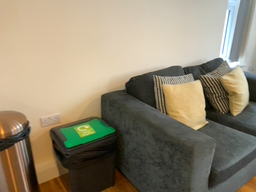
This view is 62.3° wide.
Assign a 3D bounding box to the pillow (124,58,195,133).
[{"bbox_3d":[0.310,-0.020,1.890,0.610,0.400,0.180,-31,34,-23],"label":"pillow"}]

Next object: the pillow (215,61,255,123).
[{"bbox_3d":[1.080,-0.050,2.040,0.510,0.360,0.200,-32,35,-25],"label":"pillow"}]

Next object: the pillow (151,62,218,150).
[{"bbox_3d":[0.500,0.070,1.770,0.570,0.450,0.180,-42,38,-24],"label":"pillow"}]

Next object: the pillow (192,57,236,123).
[{"bbox_3d":[0.890,-0.070,2.150,0.180,0.440,0.500,18,48,44],"label":"pillow"}]

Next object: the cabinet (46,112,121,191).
[{"bbox_3d":[-0.340,0.460,1.650,0.410,0.470,0.400,-14,26,-32],"label":"cabinet"}]
